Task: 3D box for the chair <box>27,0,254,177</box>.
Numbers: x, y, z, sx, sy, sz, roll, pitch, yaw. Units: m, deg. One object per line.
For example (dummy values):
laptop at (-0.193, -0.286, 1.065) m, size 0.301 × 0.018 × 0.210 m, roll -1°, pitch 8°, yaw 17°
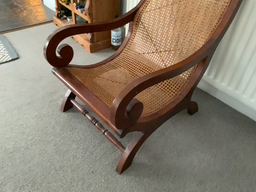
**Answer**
chair at (0.080, -0.290, 1.240) m, size 0.950 × 0.930 × 0.670 m, roll -28°, pitch 50°, yaw -32°
